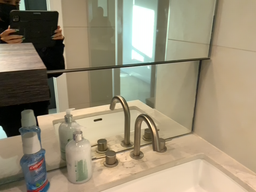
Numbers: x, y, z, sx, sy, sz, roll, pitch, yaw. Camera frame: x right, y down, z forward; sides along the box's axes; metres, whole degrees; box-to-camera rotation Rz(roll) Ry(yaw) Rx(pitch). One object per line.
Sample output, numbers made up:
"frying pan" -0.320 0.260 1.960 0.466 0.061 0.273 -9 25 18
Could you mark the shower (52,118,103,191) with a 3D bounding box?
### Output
"shower" -0.160 0.180 0.660 0.110 0.150 0.170 -8 22 -24
